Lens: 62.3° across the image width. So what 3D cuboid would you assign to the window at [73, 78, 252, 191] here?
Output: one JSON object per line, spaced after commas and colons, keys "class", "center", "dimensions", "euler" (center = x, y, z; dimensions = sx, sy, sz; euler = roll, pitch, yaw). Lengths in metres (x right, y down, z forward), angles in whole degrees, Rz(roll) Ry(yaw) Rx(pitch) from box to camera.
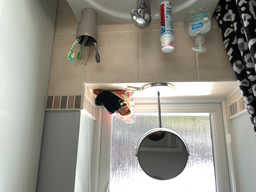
{"class": "window", "center": [0.120, 0.440, 0.810], "dimensions": [0.630, 1.020, 0.170], "euler": [0, 164, 3]}
